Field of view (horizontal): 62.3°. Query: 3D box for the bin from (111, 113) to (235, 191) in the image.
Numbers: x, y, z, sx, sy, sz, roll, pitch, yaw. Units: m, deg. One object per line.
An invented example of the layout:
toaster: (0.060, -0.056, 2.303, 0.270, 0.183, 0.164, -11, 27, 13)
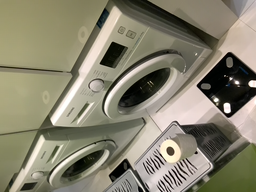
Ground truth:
bin: (0.270, 0.370, 1.230, 0.490, 0.520, 0.250, -50, 61, 29)
